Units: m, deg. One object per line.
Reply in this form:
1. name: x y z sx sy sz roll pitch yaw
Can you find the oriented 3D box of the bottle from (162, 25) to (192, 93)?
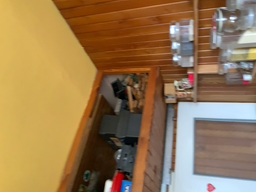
1. bottle: 0.340 -0.200 1.390 0.610 0.150 0.080 61 -145 -57
